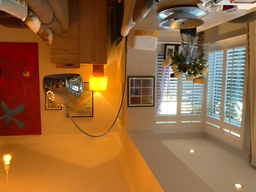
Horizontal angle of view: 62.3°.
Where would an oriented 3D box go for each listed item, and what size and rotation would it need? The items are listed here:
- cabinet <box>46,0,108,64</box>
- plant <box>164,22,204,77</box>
[{"bbox_3d":[-0.920,-1.200,3.990,1.050,1.170,0.470,-1,-174,-11],"label":"cabinet"},{"bbox_3d":[0.650,-0.530,2.490,0.410,0.600,0.170,-1,-174,-7],"label":"plant"}]
